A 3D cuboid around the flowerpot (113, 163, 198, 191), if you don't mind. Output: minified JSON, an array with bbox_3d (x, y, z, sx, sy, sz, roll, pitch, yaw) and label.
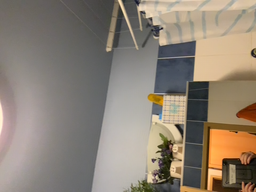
[{"bbox_3d":[0.110,0.460,0.890,0.150,0.320,0.290,27,-114,-63],"label":"flowerpot"}]
